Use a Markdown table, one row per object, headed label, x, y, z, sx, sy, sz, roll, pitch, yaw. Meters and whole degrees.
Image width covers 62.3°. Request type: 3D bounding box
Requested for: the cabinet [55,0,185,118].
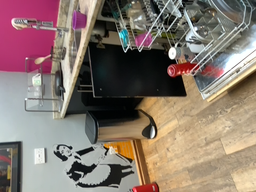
| label | x | y | z | sx | sy | sz | roll | pitch | yaw |
| --- | --- | --- | --- | --- | --- | --- | --- | --- | --- |
| cabinet | -0.210 | -0.330 | 2.200 | 1.150 | 0.900 | 0.660 | 126 | 138 | -51 |
